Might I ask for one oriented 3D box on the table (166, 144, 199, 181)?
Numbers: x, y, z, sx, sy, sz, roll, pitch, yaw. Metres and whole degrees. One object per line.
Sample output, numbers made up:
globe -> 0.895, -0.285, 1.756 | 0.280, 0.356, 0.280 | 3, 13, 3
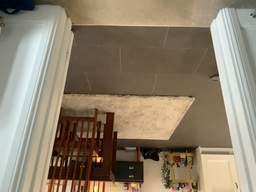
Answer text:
table -> 1.030, 1.290, 4.090 | 0.470, 0.630, 0.450 | 2, 155, -1

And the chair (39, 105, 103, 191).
chair -> -0.570, 0.610, 2.340 | 0.470, 0.880, 0.500 | 1, 155, 0

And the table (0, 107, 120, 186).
table -> -0.910, 0.670, 2.640 | 1.550, 0.760, 0.900 | 1, 155, 0

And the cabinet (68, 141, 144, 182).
cabinet -> -0.380, 1.270, 4.060 | 1.340, 0.650, 0.470 | 2, 155, -1
